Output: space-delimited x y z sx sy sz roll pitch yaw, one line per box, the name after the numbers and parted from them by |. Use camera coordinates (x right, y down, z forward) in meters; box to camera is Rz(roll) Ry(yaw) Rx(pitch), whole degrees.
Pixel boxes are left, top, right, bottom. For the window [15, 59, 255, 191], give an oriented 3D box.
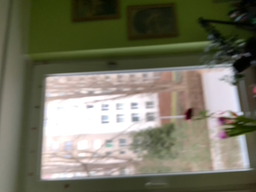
0.130 0.420 1.470 0.160 1.710 1.320 87 180 -74 | window
